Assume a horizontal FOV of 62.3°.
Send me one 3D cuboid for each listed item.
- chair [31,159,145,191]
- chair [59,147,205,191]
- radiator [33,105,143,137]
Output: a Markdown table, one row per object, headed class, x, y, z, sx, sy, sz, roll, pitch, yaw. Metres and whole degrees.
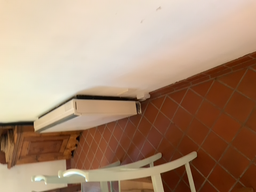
| class | x | y | z | sx | sy | sz | roll | pitch | yaw |
| --- | --- | --- | --- | --- | --- | --- | --- | --- | --- |
| chair | -0.320 | 0.850 | 1.830 | 0.440 | 0.850 | 0.460 | -21 | 72 | 49 |
| chair | 0.060 | 0.620 | 1.370 | 0.420 | 0.850 | 0.460 | -21 | 72 | 49 |
| radiator | -0.460 | 0.270 | 2.160 | 1.040 | 0.680 | 0.160 | -19 | 73 | 49 |
